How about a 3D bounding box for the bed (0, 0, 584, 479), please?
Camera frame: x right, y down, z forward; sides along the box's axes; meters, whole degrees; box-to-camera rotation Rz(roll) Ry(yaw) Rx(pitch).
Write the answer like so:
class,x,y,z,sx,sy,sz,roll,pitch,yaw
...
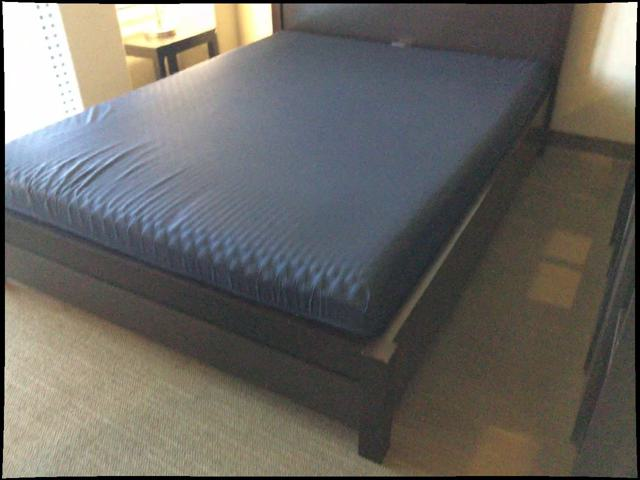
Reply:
class,x,y,z,sx,sy,sz,roll,pitch,yaw
bed,-0.080,-0.592,2.350,1.777,1.062,2.220,15,37,25
